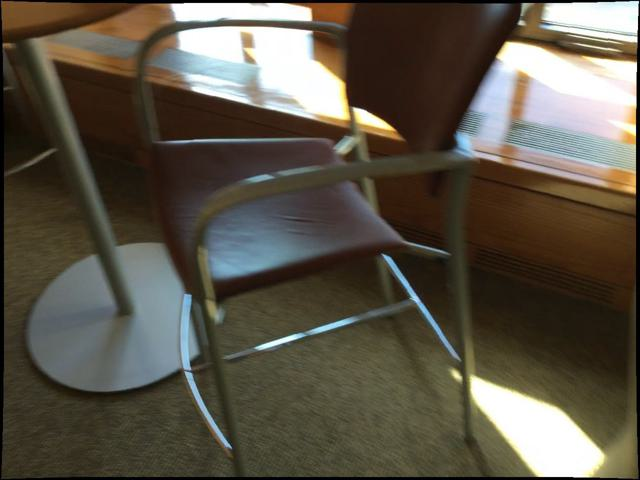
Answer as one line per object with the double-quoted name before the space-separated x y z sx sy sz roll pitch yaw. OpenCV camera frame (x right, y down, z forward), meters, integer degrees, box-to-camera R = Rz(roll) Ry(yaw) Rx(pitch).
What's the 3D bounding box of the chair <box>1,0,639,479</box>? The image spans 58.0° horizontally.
"chair" 0.000 0.050 1.140 0.719 1.061 0.800 -22 47 -18
